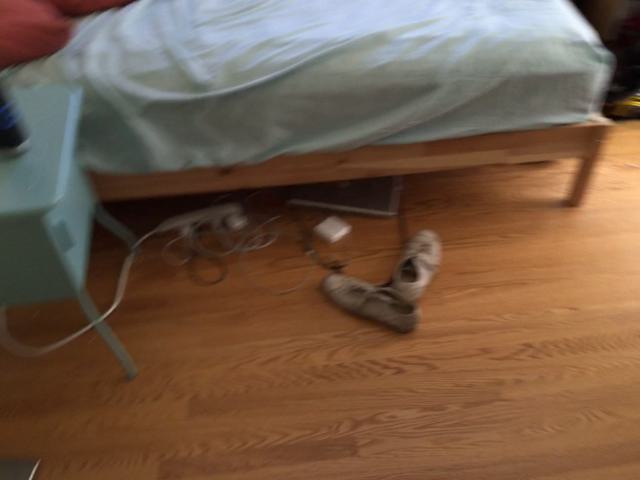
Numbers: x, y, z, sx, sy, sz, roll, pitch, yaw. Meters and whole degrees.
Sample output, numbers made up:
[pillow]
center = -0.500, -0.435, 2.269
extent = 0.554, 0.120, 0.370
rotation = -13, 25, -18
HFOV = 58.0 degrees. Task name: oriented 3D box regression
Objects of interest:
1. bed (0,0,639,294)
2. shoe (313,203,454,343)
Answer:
[bed]
center = -0.180, -0.860, 2.030
extent = 2.040, 1.060, 1.520
rotation = -8, 43, -4
[shoe]
center = 0.180, 0.110, 1.710
extent = 0.370, 0.440, 0.080
rotation = -8, 43, -4
